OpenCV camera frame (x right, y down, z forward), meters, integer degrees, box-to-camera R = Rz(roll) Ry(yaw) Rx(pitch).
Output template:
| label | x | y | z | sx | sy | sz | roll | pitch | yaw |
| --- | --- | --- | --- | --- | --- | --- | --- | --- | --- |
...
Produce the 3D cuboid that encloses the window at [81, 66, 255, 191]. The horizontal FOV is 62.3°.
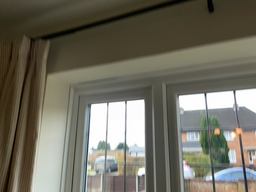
| label | x | y | z | sx | sy | sz | roll | pitch | yaw |
| --- | --- | --- | --- | --- | --- | --- | --- | --- | --- |
| window | 0.250 | 0.550 | 0.860 | 1.060 | 1.310 | 0.070 | -7 | -17 | 25 |
